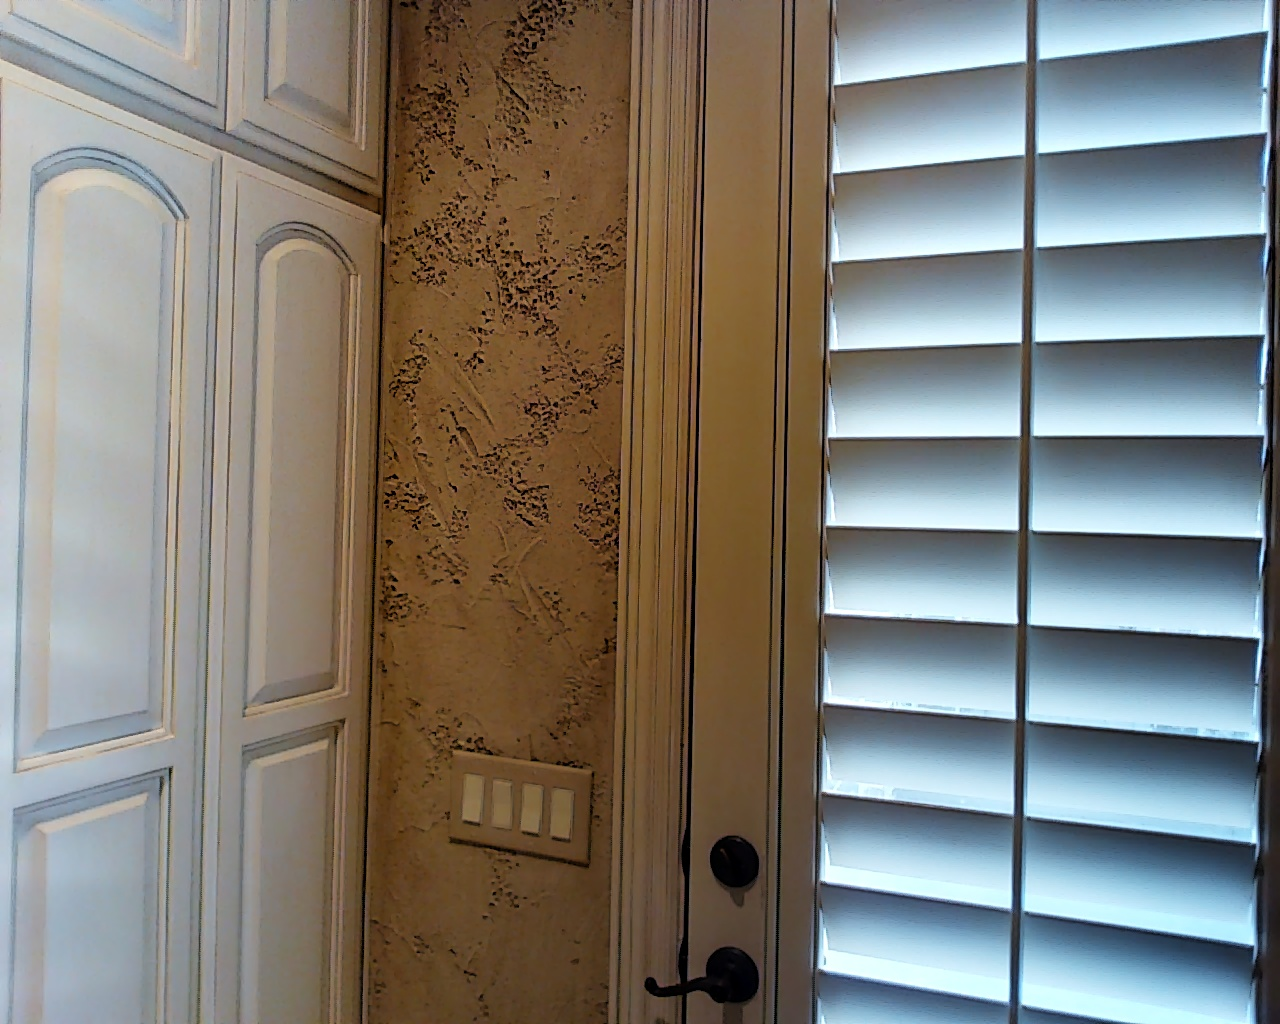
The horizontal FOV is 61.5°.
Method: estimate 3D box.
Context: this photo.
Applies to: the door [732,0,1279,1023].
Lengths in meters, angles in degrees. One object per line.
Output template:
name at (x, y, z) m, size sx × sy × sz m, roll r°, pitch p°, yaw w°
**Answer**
door at (0.430, 0.290, 1.180) m, size 0.650 × 2.531 × 0.080 m, roll 1°, pitch 1°, yaw 23°
